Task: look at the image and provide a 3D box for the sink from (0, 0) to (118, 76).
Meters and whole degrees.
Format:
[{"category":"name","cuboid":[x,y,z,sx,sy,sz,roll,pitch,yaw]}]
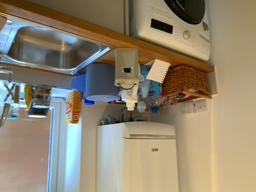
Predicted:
[{"category":"sink","cuboid":[-0.400,-0.300,1.110,0.470,0.190,0.540,8,165,-36]}]
